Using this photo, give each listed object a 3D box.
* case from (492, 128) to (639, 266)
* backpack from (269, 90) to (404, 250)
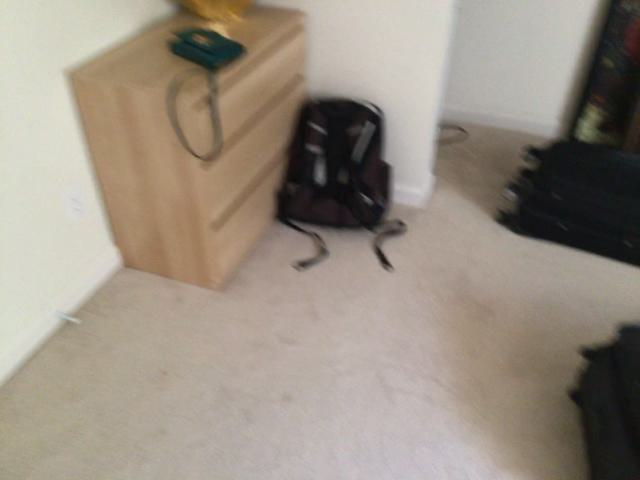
[{"bbox_3d":[0.960,-0.160,2.040,0.610,0.290,0.380,10,34,18],"label":"case"},{"bbox_3d":[0.070,-0.260,2.080,0.380,0.440,0.310,10,34,18],"label":"backpack"}]
